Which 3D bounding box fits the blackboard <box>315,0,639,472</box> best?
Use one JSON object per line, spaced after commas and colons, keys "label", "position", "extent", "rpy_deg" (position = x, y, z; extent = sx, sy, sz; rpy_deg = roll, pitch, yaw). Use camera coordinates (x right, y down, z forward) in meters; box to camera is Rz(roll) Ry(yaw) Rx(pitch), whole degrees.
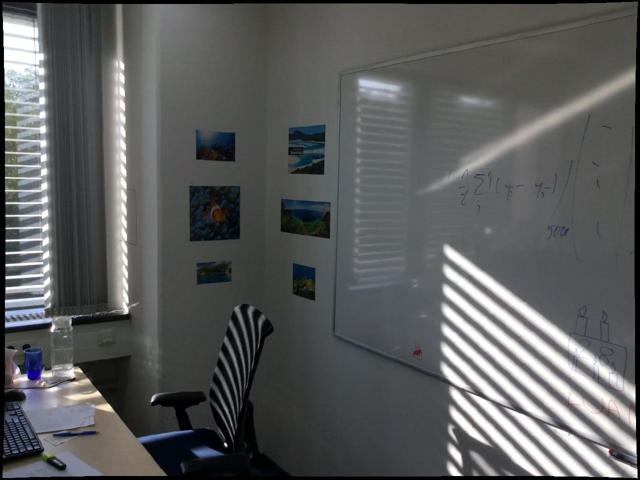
{"label": "blackboard", "position": [0.629, -0.070, 1.730], "extent": [0.140, 1.221, 2.019], "rpy_deg": [-6, 10, -36]}
